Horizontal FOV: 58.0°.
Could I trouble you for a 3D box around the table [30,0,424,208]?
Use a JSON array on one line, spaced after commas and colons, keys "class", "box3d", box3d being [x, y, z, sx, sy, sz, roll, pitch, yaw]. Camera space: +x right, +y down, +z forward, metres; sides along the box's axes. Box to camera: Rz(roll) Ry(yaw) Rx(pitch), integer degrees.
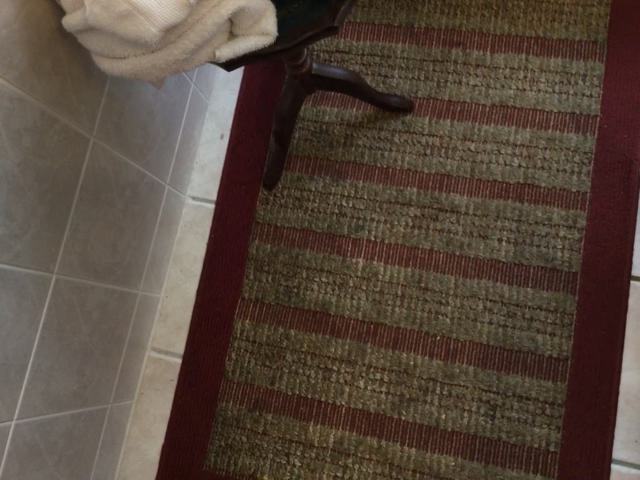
[{"class": "table", "box3d": [-0.050, -0.300, 0.850, 0.350, 0.340, 0.550, 10, -8, 11]}]
